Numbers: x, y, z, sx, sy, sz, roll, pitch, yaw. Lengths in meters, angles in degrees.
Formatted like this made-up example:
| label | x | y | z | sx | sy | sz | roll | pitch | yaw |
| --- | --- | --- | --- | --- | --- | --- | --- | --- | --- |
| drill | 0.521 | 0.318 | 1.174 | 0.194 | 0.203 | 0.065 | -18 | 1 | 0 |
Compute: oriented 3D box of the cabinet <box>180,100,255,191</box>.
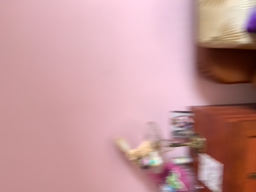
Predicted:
| label | x | y | z | sx | sy | sz | roll | pitch | yaw |
| --- | --- | --- | --- | --- | --- | --- | --- | --- | --- |
| cabinet | 0.830 | 0.380 | 1.350 | 0.440 | 0.830 | 0.630 | -142 | 51 | -74 |
